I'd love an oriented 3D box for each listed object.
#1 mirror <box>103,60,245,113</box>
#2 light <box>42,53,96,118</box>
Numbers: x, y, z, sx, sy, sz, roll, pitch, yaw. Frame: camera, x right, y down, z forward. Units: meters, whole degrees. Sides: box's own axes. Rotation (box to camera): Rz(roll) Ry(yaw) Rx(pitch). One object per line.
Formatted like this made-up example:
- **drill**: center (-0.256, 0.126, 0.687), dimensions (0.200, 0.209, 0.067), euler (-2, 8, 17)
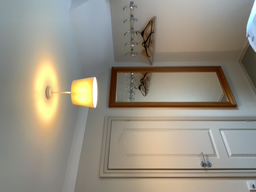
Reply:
- **mirror**: center (0.600, -0.170, 3.050), dimensions (0.070, 1.830, 0.930), euler (91, 180, -52)
- **light**: center (-0.430, -0.080, 1.660), dimensions (0.340, 0.300, 0.370), euler (91, 177, -50)
